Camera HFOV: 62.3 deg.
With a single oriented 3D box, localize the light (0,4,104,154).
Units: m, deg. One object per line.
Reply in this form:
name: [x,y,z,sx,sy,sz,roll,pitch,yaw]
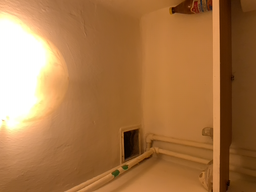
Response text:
light: [-0.270,-0.060,0.560,0.310,0.300,0.100,22,-30,5]
